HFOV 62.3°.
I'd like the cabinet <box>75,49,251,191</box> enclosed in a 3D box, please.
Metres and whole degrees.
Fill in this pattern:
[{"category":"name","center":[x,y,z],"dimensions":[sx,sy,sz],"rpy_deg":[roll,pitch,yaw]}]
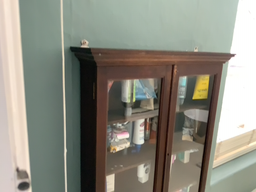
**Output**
[{"category":"cabinet","center":[0.150,0.250,0.890],"dimensions":[0.690,0.850,0.190],"rpy_deg":[-7,-162,-32]}]

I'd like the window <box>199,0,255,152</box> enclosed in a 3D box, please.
[{"category":"window","center":[0.990,-0.220,1.710],"dimensions":[0.890,1.200,0.110],"rpy_deg":[-7,-162,-33]}]
